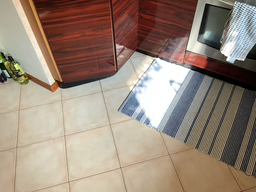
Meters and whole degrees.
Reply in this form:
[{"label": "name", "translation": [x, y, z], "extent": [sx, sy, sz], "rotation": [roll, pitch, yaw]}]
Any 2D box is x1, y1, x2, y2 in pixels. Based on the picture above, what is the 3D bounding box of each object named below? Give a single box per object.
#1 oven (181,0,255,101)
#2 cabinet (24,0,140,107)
[{"label": "oven", "translation": [0.830, -0.540, 1.500], "extent": [0.580, 0.870, 0.590], "rotation": [24, 57, 19]}, {"label": "cabinet", "translation": [-0.240, -0.470, 1.490], "extent": [0.400, 0.870, 0.600], "rotation": [24, 57, 19]}]
